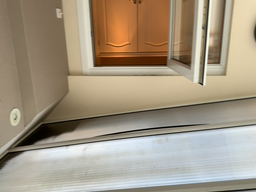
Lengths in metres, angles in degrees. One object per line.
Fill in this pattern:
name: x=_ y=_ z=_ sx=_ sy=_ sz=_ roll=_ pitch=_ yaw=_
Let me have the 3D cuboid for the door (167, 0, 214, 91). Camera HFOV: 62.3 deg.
door: x=0.450 y=-1.160 z=1.570 sx=0.080 sy=2.060 sz=0.970 roll=-1 pitch=-163 yaw=0
